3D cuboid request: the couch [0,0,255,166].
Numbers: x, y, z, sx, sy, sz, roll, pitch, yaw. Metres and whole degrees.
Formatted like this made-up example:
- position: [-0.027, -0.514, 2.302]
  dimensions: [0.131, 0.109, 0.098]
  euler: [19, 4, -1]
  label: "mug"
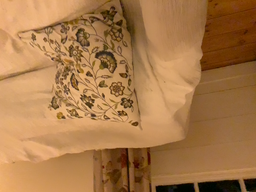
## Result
- position: [-0.660, -0.110, 1.130]
  dimensions: [2.060, 0.680, 1.260]
  euler: [-9, 153, 12]
  label: "couch"
